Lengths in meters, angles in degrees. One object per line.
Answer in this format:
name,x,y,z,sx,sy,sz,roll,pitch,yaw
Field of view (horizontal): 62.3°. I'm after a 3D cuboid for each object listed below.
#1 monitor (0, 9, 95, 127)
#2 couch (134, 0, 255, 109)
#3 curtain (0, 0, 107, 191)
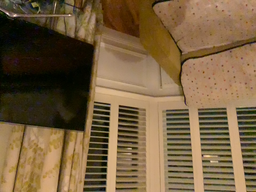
monitor,-0.700,-0.190,1.190,1.060,0.640,0.050,10,159,-30
couch,0.800,-0.480,1.610,1.150,0.850,1.030,-7,160,27
curtain,-0.560,0.660,1.510,0.510,3.200,0.390,-2,162,14
